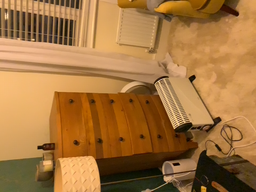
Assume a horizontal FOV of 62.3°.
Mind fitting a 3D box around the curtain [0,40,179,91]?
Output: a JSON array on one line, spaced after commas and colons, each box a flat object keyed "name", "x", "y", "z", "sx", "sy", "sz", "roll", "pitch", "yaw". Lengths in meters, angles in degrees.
[{"name": "curtain", "x": -0.570, "y": -0.260, "z": 1.890, "sx": 0.270, "sy": 2.270, "sz": 0.330, "roll": -142, "pitch": 57, "yaw": -59}]

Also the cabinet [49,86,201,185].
[{"name": "cabinet", "x": -0.070, "y": 0.340, "z": 2.010, "sx": 0.570, "sy": 1.210, "sz": 0.610, "roll": 121, "pitch": 141, "yaw": -46}]

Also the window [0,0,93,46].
[{"name": "window", "x": -0.860, "y": -0.860, "z": 1.820, "sx": 0.160, "sy": 1.100, "sz": 0.710, "roll": -143, "pitch": 58, "yaw": -59}]
